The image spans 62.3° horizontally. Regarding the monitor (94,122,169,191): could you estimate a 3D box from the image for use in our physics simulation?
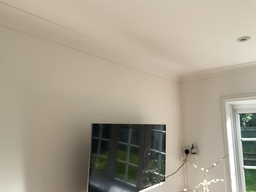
[{"bbox_3d":[0.070,0.470,1.640,0.070,0.510,0.810,-11,-13,37],"label":"monitor"}]
